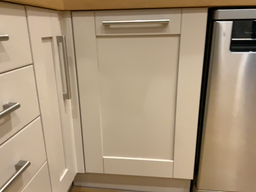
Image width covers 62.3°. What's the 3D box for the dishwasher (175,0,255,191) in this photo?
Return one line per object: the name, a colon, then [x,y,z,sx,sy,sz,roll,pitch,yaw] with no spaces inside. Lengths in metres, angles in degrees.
dishwasher: [0.660,0.020,1.080,0.710,0.920,0.620,1,18,6]
